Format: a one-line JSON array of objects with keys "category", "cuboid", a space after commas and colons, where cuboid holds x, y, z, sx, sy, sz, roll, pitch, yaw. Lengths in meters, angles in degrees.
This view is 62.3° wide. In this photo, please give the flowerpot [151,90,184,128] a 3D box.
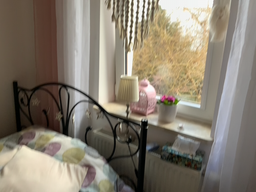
[{"category": "flowerpot", "cuboid": [0.270, 0.080, 1.440, 0.140, 0.200, 0.180, 13, 18, 32]}]
